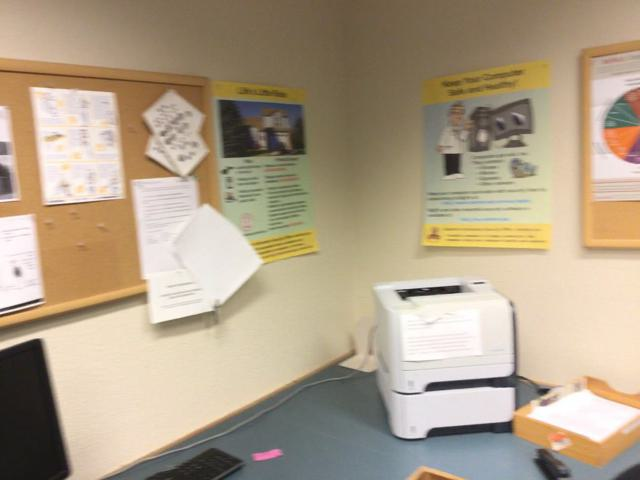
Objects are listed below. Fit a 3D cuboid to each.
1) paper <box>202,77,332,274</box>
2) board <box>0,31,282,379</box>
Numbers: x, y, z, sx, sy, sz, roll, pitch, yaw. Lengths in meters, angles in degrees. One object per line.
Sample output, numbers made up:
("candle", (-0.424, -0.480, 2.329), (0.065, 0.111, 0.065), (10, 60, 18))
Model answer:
("paper", (-0.160, -0.220, 1.980), (0.070, 0.600, 0.510), (1, 7, 39))
("board", (-0.520, -0.110, 1.530), (0.080, 0.750, 1.080), (1, 7, 39))
